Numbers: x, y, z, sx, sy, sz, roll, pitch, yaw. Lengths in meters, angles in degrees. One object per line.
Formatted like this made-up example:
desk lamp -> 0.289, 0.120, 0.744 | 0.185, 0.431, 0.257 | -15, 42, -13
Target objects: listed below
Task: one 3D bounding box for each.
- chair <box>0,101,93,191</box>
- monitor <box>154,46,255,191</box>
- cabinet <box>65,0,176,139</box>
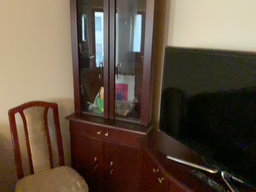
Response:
chair -> -0.620, 0.610, 1.610 | 0.480, 0.950, 0.660 | -9, 18, -32
monitor -> 0.420, 0.110, 0.960 | 0.060, 0.610, 0.940 | -6, 17, -26
cabinet -> -0.090, -0.440, 1.660 | 0.600, 1.280, 0.630 | -8, 18, -30
